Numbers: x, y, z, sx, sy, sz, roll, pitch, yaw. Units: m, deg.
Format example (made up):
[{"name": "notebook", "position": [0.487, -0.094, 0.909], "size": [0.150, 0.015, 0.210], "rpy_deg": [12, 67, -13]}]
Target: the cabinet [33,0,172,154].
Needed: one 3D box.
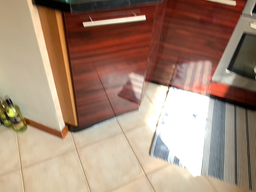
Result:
[{"name": "cabinet", "position": [-0.070, -0.210, 1.220], "size": [0.420, 0.840, 0.620], "rpy_deg": [17, 47, 11]}]
